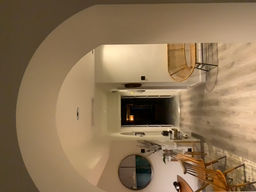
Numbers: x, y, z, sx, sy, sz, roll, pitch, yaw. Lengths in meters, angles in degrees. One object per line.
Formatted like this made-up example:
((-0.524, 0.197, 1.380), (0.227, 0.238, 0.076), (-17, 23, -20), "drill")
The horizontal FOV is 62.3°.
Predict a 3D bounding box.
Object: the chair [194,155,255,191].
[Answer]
((1.280, 1.090, 2.620), (0.460, 0.760, 0.590), (98, 171, -87), "chair")
